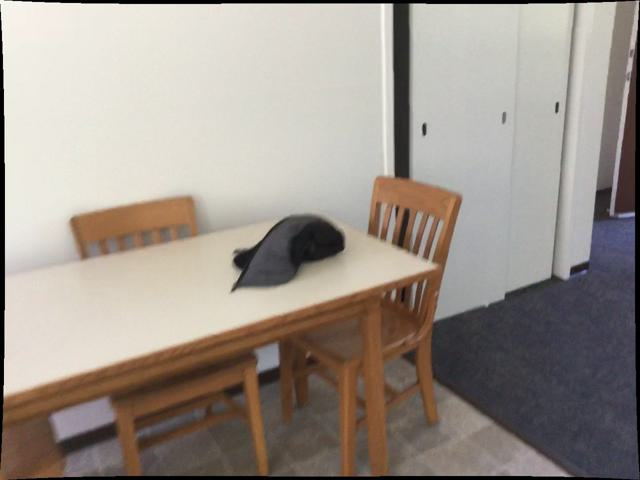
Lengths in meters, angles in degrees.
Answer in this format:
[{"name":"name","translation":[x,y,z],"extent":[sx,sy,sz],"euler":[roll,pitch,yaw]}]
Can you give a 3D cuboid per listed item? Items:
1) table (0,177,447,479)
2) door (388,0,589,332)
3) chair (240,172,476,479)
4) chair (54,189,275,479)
[{"name":"table","translation":[-0.429,0.421,1.820],"extent":[1.388,0.871,0.860],"euler":[-14,22,-26]},{"name":"door","translation":[0.839,-0.581,2.820],"extent":[1.099,1.913,0.140],"euler":[-14,22,-26]},{"name":"chair","translation":[0.140,0.280,2.120],"extent":[0.609,0.891,0.540],"euler":[-14,22,-26]},{"name":"chair","translation":[-0.519,0.371,1.960],"extent":[0.479,0.931,0.520],"euler":[-14,22,-26]}]
